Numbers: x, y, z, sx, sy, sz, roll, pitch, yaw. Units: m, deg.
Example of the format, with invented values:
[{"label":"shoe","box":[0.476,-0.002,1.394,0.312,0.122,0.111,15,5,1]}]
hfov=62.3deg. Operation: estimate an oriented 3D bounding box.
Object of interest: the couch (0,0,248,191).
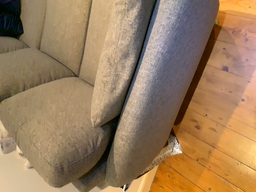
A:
[{"label":"couch","box":[-0.230,-0.180,1.230,1.170,0.910,1.050,29,111,33]}]
